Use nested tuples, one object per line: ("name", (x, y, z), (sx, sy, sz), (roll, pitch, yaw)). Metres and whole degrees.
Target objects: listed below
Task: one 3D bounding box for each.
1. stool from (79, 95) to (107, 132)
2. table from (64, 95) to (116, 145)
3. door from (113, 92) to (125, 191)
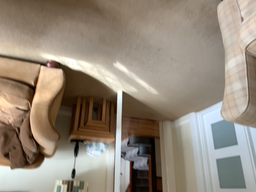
("stool", (-0.420, 0.220, 2.540), (0.250, 0.360, 0.260), (9, 156, -20))
("table", (-0.470, 0.320, 2.640), (0.520, 0.480, 0.430), (9, 156, -20))
("door", (-0.100, 1.060, 2.280), (0.100, 2.040, 0.820), (1, 157, -2))
